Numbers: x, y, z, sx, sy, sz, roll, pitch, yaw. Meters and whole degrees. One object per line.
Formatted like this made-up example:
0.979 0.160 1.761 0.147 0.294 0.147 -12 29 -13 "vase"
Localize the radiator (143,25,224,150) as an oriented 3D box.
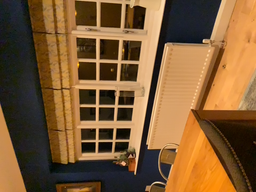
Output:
0.620 0.030 2.720 0.090 0.630 1.800 -101 14 -55 "radiator"
